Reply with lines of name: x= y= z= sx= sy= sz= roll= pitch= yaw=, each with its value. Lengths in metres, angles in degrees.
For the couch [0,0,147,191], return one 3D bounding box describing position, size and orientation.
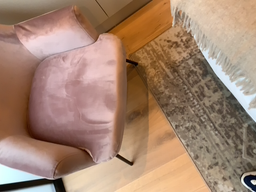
couch: x=-0.380 y=-0.010 z=1.010 sx=0.740 sy=0.830 sz=0.710 roll=-3 pitch=75 yaw=20
